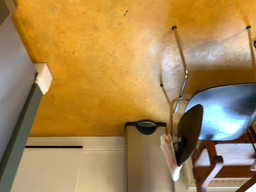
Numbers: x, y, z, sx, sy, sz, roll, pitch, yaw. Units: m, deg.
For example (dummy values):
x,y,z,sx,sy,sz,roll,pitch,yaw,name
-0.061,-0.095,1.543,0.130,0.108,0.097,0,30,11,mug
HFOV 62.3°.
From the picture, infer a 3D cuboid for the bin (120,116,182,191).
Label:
x,y,z,sx,sy,sz,roll,pitch,yaw,name
0.160,0.540,1.830,0.440,0.680,0.290,1,139,-2,bin
